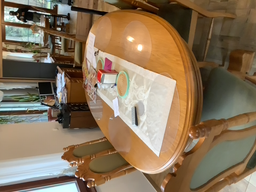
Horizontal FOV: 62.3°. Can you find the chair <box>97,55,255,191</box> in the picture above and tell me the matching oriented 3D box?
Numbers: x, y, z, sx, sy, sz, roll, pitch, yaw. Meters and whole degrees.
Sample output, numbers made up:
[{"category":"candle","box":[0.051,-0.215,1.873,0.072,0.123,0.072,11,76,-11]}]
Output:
[{"category":"chair","box":[0.480,0.150,1.090,0.580,1.080,0.480,44,128,53]}]

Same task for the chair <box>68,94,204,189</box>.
[{"category":"chair","box":[0.070,0.310,1.880,0.480,1.070,0.590,18,106,61]}]

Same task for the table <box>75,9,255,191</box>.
[{"category":"table","box":[0.170,-0.140,1.990,1.890,0.790,1.110,37,122,56]}]

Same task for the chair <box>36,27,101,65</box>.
[{"category":"chair","box":[-1.160,-0.960,4.130,0.470,1.120,0.570,32,118,58]}]
